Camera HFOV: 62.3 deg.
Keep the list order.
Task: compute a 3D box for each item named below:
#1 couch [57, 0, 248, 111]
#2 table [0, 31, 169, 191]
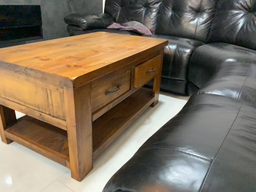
[{"bbox_3d":[0.220,-0.690,2.210,1.590,0.950,1.000,18,28,29],"label":"couch"},{"bbox_3d":[-0.230,-0.060,1.320,0.610,0.510,1.000,15,27,25],"label":"table"}]
